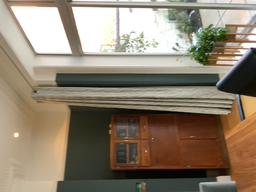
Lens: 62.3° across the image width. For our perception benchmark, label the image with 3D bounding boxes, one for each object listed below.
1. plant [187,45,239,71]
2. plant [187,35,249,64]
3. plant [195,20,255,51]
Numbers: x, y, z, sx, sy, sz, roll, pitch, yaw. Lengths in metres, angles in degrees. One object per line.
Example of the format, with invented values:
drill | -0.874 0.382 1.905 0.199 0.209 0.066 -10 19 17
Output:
plant | 1.120 -0.510 2.840 0.200 0.580 0.260 97 173 -61
plant | 1.100 -0.570 2.630 0.210 0.640 0.260 96 173 -60
plant | 1.120 -0.690 2.430 0.220 0.610 0.230 96 174 -57
